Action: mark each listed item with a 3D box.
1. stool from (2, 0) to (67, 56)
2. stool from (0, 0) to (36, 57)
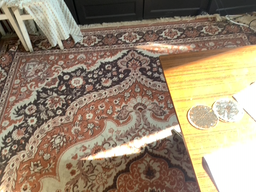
[{"bbox_3d":[-0.710,-0.620,1.710,0.290,0.480,0.310,-6,54,-2],"label":"stool"},{"bbox_3d":[-1.010,-0.610,1.710,0.300,0.480,0.310,-6,54,-2],"label":"stool"}]
